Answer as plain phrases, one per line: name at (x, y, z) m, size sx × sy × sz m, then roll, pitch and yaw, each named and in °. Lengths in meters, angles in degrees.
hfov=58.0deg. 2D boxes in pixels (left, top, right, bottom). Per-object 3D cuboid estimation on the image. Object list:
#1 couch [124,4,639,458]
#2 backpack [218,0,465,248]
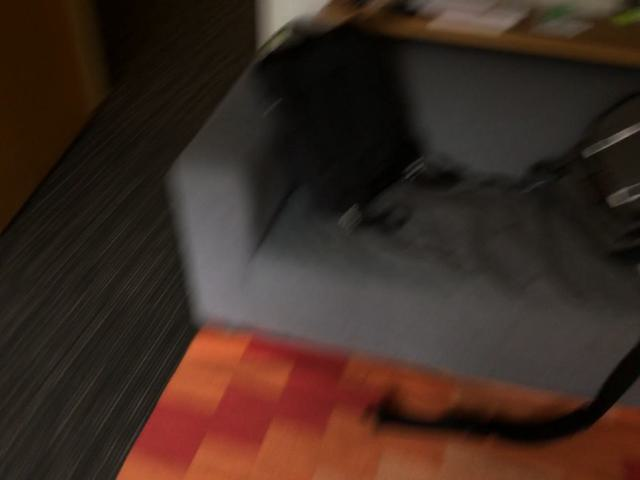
couch at (0.550, -0.050, 1.530) m, size 1.750 × 0.740 × 0.800 m, roll 9°, pitch 39°, yaw 9°
backpack at (0.070, -0.320, 1.550) m, size 0.450 × 0.480 × 0.200 m, roll -41°, pitch 24°, yaw -13°
